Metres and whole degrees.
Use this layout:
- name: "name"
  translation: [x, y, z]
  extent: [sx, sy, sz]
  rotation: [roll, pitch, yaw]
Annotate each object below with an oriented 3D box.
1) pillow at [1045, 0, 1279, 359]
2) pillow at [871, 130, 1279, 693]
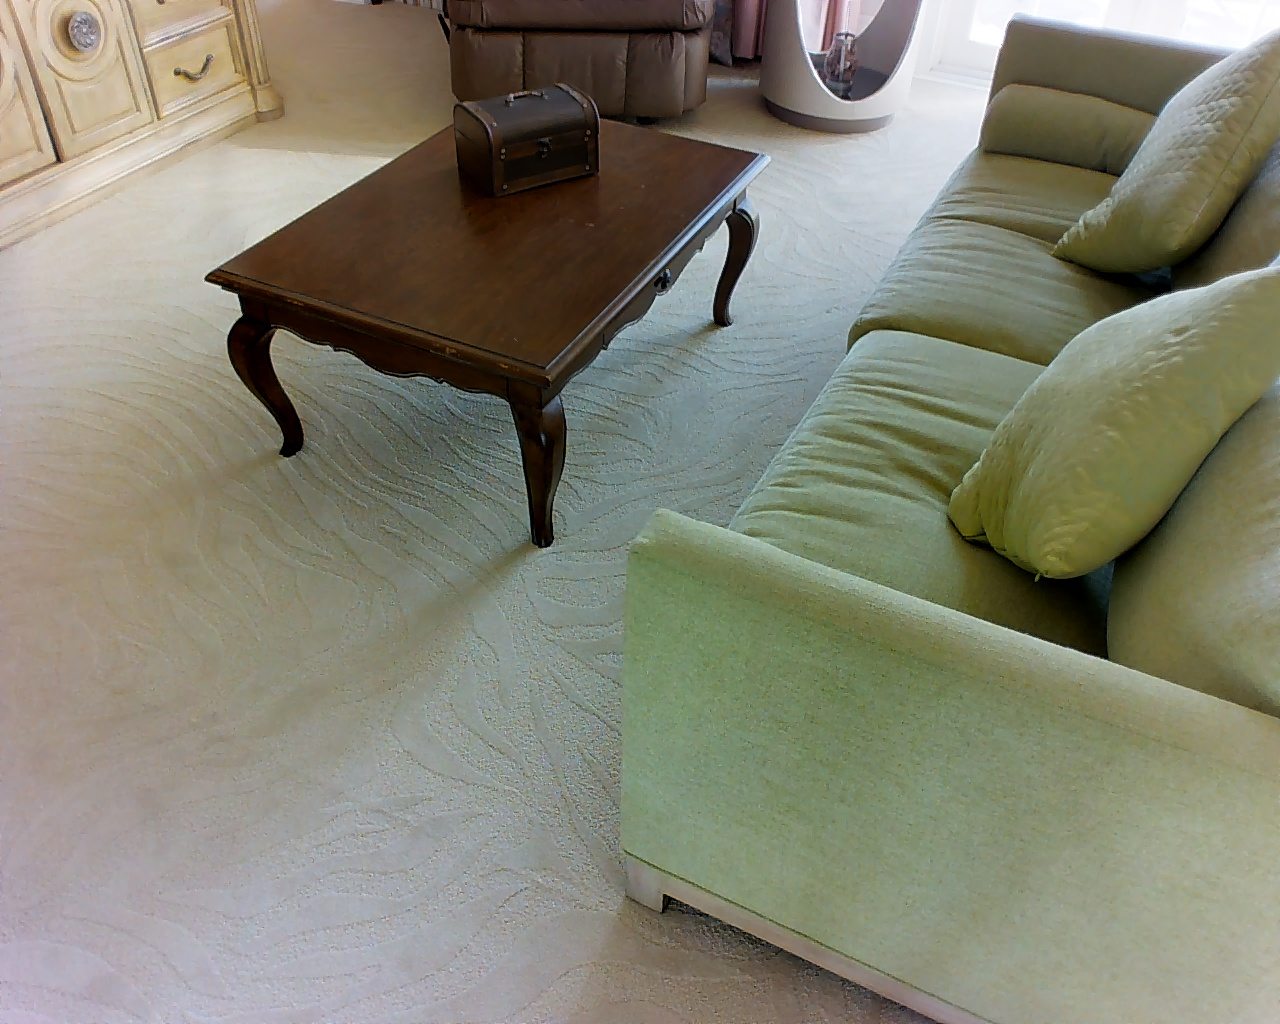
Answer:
- name: "pillow"
  translation: [1.030, -0.700, 1.990]
  extent: [0.310, 0.550, 0.620]
  rotation: [-13, 34, 4]
- name: "pillow"
  translation: [0.630, -0.150, 1.390]
  extent: [0.420, 0.470, 0.530]
  rotation: [-7, 42, -9]
